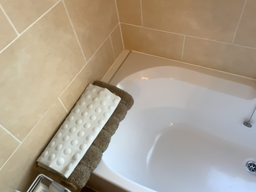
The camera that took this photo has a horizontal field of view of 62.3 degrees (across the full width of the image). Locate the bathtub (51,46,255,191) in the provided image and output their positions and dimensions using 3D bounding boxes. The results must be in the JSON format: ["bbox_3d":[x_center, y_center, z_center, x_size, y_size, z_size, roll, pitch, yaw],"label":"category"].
[{"bbox_3d":[0.590,0.370,1.040,1.670,0.540,0.720,19,58,21],"label":"bathtub"}]
